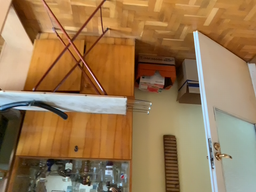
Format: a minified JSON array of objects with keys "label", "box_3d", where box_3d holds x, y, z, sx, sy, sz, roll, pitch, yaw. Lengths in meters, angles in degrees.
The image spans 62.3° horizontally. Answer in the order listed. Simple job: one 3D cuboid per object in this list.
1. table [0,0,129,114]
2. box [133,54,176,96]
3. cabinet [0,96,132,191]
[{"label":"table","box_3d":[-0.410,-0.310,1.580,0.800,0.790,0.270,4,156,-5]},{"label":"box","box_3d":[0.270,-0.220,2.330,0.400,0.320,0.320,3,156,-3]},{"label":"cabinet","box_3d":[-0.450,0.830,1.680,0.890,1.530,0.500,4,156,-5]}]
